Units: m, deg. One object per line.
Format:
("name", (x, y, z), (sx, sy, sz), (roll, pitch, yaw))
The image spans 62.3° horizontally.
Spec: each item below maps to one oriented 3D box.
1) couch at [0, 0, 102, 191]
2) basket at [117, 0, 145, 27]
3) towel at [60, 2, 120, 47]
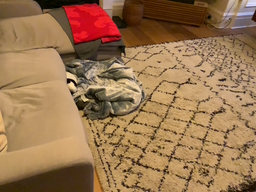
("couch", (-1.020, -0.210, 1.520), (1.070, 0.730, 2.140), (-11, 43, -20))
("basket", (0.040, -1.280, 3.260), (0.300, 0.300, 0.330), (-11, 44, -21))
("towel", (-0.430, -0.790, 2.250), (0.430, 0.150, 0.780), (-11, 44, -21))
